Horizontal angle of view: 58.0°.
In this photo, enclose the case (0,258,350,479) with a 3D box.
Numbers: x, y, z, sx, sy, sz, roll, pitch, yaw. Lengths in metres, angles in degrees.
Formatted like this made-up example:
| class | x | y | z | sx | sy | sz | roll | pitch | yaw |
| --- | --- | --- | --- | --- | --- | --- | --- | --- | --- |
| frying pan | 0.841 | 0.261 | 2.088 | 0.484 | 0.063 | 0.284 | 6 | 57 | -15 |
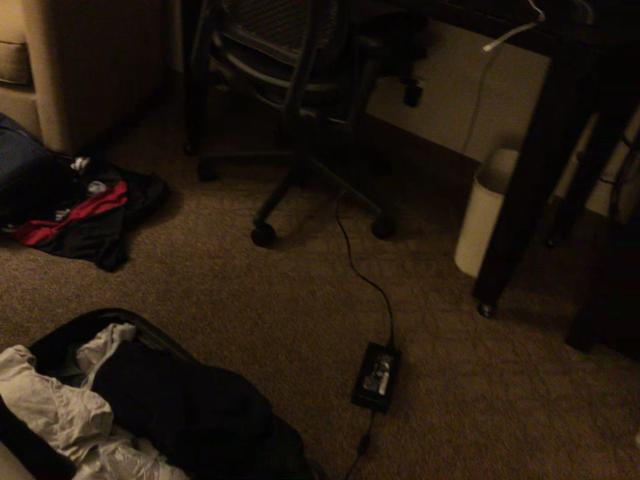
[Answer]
| class | x | y | z | sx | sy | sz | roll | pitch | yaw |
| --- | --- | --- | --- | --- | --- | --- | --- | --- | --- |
| case | -0.350 | 0.360 | 1.020 | 0.650 | 0.240 | 0.430 | 28 | 40 | 27 |
